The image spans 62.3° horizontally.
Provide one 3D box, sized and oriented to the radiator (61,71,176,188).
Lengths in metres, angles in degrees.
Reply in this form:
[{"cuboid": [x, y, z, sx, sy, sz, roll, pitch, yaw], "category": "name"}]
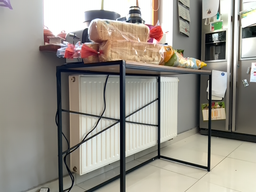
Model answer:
[{"cuboid": [0.020, 0.170, 1.740, 0.200, 0.700, 1.140, 4, 5, 41], "category": "radiator"}]
